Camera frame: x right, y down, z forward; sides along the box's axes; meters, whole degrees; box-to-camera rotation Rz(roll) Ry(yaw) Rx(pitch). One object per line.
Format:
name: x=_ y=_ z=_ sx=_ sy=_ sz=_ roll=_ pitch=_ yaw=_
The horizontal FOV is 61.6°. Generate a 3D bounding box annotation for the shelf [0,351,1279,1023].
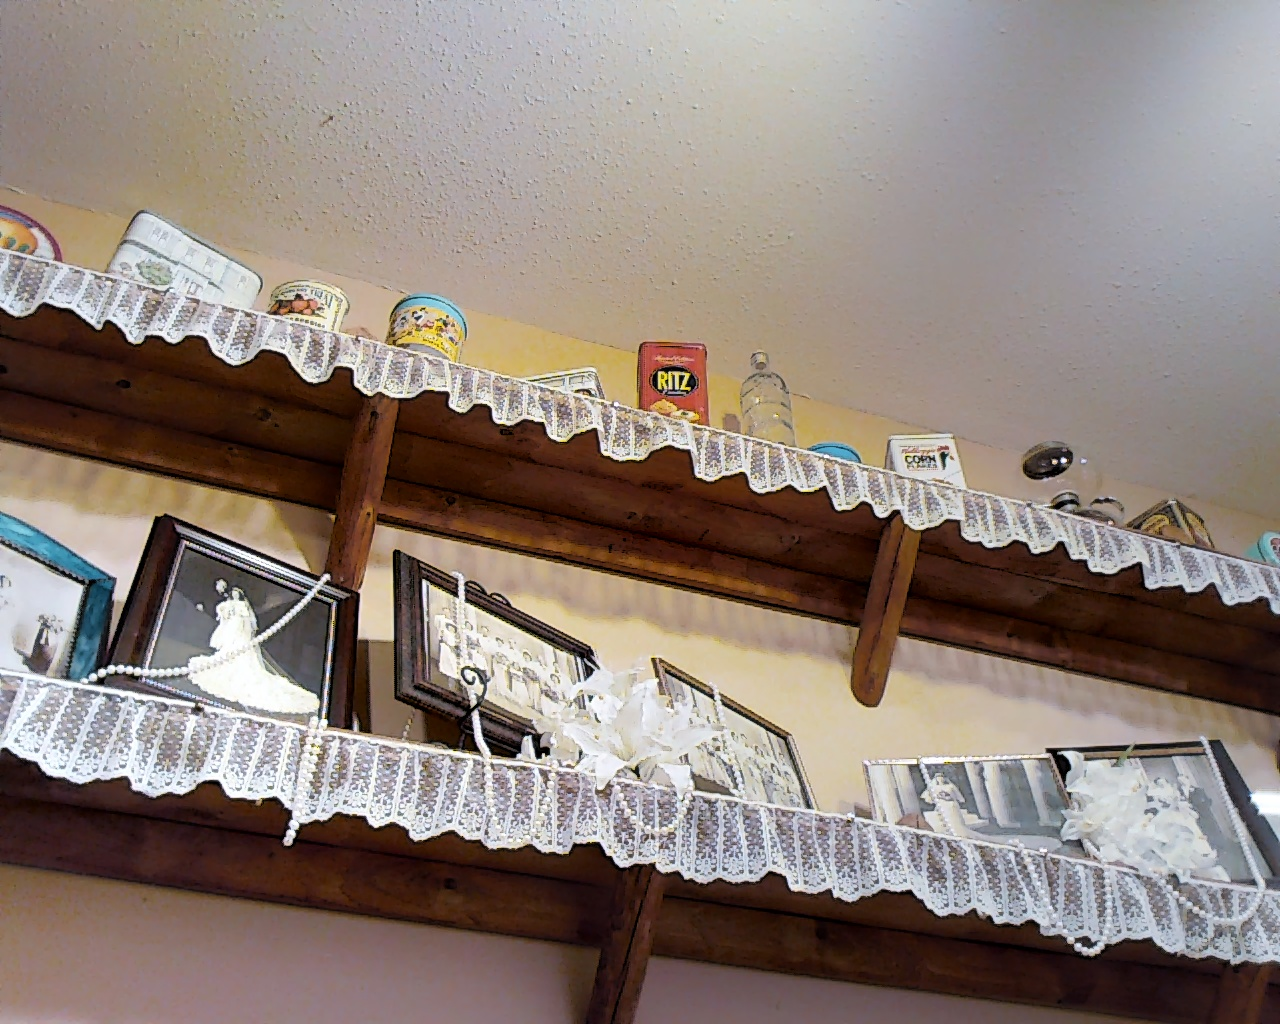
shelf: x=0.360 y=0.410 z=1.380 sx=2.739 sy=0.610 sz=0.310 roll=13 pitch=-43 yaw=-13

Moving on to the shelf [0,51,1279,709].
shelf: x=0.290 y=-0.100 z=1.760 sx=3.888 sy=0.340 sz=0.360 roll=13 pitch=-43 yaw=-13
